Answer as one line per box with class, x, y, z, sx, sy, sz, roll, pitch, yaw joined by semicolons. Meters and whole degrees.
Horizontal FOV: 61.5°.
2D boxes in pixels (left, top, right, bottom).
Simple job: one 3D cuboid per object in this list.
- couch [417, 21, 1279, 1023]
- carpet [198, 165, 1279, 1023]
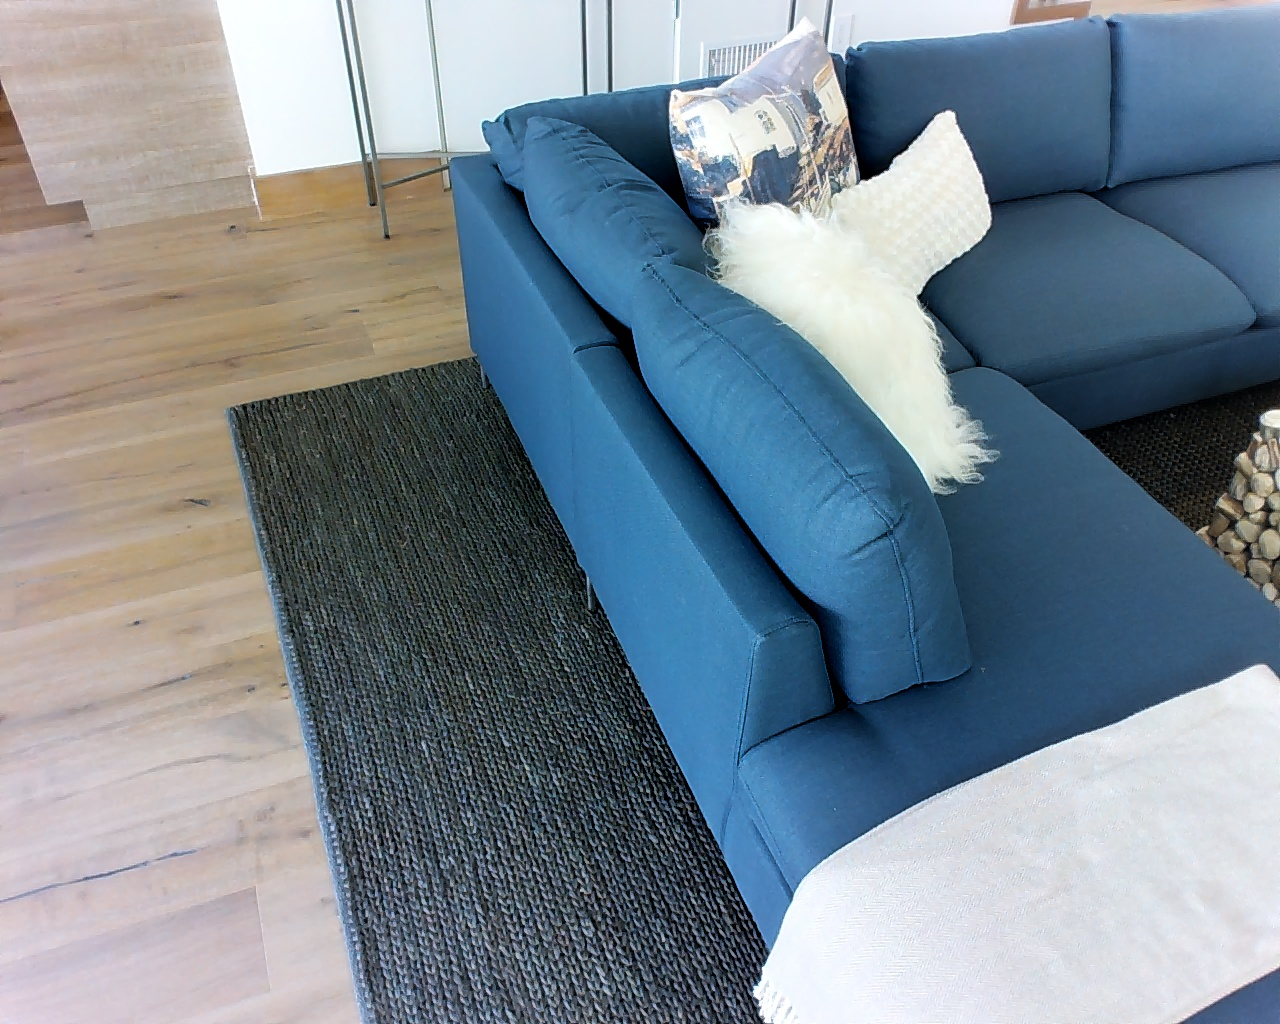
couch;1.510;-0.320;2.290;3.450;0.610;2.160;-14;43;-16
carpet;1.570;0.120;2.250;4.480;0.060;3.160;-15;44;-17
